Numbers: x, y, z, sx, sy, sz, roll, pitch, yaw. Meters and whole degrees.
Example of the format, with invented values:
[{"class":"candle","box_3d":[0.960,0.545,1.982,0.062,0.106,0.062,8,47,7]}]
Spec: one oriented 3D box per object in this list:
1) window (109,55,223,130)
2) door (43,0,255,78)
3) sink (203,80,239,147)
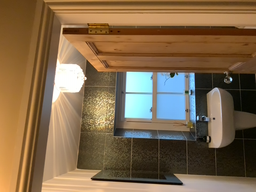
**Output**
[{"class":"window","box_3d":[0.510,-0.060,2.980,0.170,1.480,1.000,80,-168,-76]},{"class":"door","box_3d":[0.700,-0.290,1.280,0.920,2.060,0.090,78,-165,-78]},{"class":"sink","box_3d":[0.980,0.210,2.290,0.450,0.170,0.660,79,-167,-77]}]
